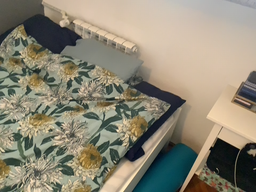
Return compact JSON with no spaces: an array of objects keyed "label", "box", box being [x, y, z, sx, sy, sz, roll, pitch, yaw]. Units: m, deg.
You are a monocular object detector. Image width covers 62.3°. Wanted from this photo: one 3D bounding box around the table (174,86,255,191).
[{"label":"table","box":[0.630,0.380,1.260,0.440,0.700,0.320,30,42,24]}]
